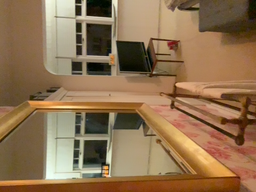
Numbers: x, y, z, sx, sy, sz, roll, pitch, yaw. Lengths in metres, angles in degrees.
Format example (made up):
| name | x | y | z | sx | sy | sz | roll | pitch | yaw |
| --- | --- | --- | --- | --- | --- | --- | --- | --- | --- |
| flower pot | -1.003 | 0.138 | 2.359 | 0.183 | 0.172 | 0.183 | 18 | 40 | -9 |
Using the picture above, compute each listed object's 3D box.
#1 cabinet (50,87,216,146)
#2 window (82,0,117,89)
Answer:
| name | x | y | z | sx | sy | sz | roll | pitch | yaw |
| --- | --- | --- | --- | --- | --- | --- | --- | --- | --- |
| cabinet | 0.000 | 0.200 | 3.080 | 1.280 | 1.940 | 0.510 | -141 | 52 | -76 |
| window | -0.620 | -1.740 | 4.600 | 0.330 | 0.730 | 3.180 | -130 | 41 | -74 |
